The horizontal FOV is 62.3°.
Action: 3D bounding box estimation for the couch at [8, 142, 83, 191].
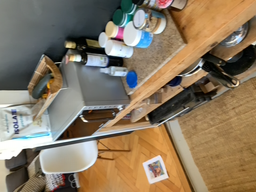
[{"bbox_3d":[-1.350,1.320,3.430,0.620,0.870,0.860,-41,61,44],"label":"couch"}]
